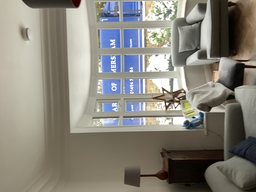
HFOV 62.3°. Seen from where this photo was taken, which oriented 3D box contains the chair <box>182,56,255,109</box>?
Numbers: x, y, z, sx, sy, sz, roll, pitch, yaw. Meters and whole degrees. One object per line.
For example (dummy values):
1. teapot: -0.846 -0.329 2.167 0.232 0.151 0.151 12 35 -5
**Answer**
1. chair: 1.220 -0.200 2.890 0.500 0.810 0.610 -90 0 -71
